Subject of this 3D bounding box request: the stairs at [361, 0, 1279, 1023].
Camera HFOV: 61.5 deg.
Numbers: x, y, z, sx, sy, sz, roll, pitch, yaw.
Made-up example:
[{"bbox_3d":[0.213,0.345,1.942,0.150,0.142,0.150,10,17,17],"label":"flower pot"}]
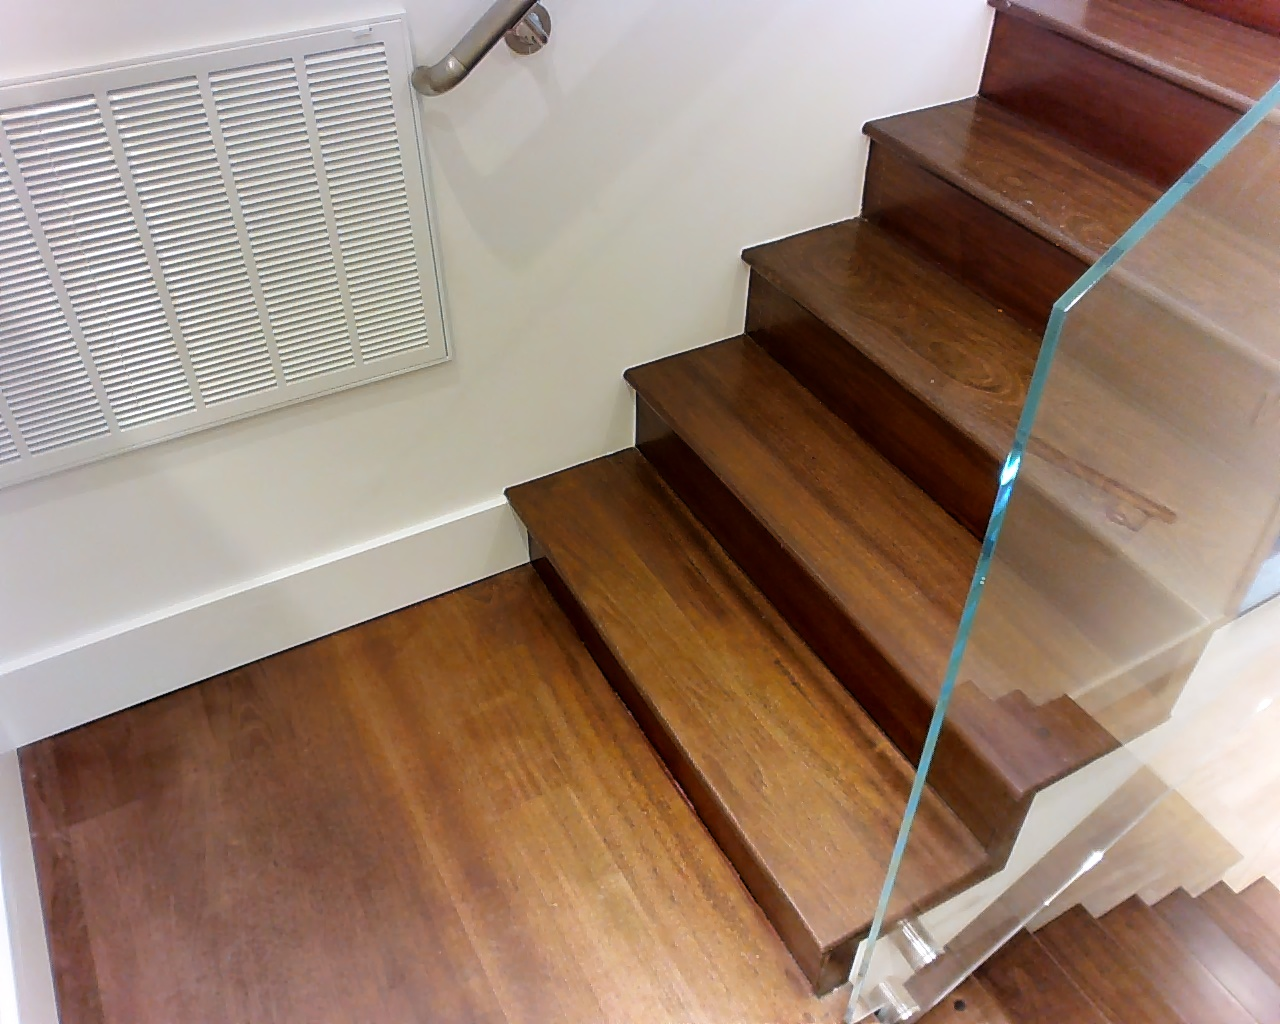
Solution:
[{"bbox_3d":[0.750,-0.320,1.790,1.980,1.790,1.080,-20,46,-21],"label":"stairs"}]
